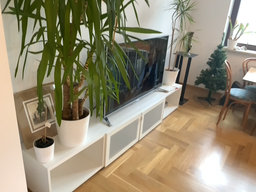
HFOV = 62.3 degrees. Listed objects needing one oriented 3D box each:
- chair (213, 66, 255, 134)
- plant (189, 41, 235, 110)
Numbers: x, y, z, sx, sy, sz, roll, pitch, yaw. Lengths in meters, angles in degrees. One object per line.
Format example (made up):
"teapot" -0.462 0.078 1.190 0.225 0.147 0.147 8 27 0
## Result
"chair" 1.550 0.040 2.970 0.410 0.770 0.410 20 28 31
"plant" 1.440 -0.370 3.660 0.460 1.000 0.540 17 26 25
